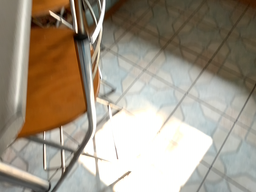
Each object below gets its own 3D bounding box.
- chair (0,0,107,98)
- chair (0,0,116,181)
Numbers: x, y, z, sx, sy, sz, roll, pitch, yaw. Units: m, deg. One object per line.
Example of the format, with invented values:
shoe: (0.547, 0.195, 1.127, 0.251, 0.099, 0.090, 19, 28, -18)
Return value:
chair: (-0.340, -0.380, 1.000, 0.350, 0.880, 0.360, -6, 61, -1)
chair: (-0.270, 0.030, 0.760, 0.350, 0.880, 0.360, -6, 61, -1)
